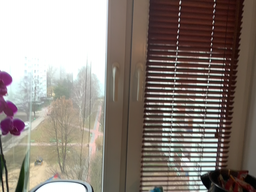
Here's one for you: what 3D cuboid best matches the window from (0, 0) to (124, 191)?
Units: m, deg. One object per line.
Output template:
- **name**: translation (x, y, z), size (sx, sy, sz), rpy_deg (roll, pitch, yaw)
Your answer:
- **window**: translation (-0.480, -0.120, 0.780), size (0.900, 1.420, 0.120), rpy_deg (2, 8, -8)
